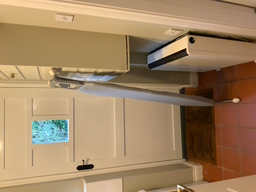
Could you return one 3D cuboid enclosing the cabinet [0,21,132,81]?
[{"bbox_3d":[-0.500,-0.270,1.530,0.620,0.880,0.230,170,98,-69],"label":"cabinet"}]
